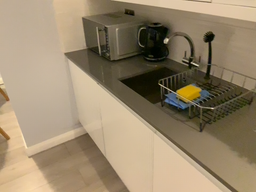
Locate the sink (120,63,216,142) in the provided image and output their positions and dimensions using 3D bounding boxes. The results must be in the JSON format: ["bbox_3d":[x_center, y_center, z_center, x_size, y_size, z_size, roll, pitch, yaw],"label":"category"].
[{"bbox_3d":[0.230,0.010,1.310,0.400,0.230,0.390,-20,35,-27],"label":"sink"}]

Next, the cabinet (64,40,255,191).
[{"bbox_3d":[0.200,0.290,1.490,0.570,0.890,1.790,-20,35,-27],"label":"cabinet"}]

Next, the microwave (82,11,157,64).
[{"bbox_3d":[-0.080,-0.500,1.710,0.370,0.260,0.510,-20,35,-27],"label":"microwave"}]
